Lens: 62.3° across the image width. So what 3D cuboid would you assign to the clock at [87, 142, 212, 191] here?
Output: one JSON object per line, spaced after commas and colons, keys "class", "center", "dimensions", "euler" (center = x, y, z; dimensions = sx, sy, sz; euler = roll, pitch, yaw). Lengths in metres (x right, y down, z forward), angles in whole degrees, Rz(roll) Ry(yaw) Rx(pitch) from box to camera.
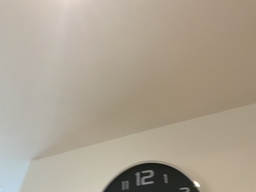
{"class": "clock", "center": [0.060, 0.430, 0.740], "dimensions": [0.480, 0.470, 0.070], "euler": [-17, -48, 18]}
